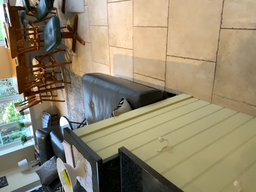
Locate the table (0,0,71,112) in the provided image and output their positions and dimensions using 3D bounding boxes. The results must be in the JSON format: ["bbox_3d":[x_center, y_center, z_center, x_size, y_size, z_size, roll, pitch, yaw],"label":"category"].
[{"bbox_3d":[-1.690,-0.780,3.870,0.960,0.740,1.790,23,120,48],"label":"table"}]

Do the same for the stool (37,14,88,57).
[{"bbox_3d":[-0.940,-0.850,3.020,0.550,0.450,0.430,-6,98,54],"label":"stool"}]
